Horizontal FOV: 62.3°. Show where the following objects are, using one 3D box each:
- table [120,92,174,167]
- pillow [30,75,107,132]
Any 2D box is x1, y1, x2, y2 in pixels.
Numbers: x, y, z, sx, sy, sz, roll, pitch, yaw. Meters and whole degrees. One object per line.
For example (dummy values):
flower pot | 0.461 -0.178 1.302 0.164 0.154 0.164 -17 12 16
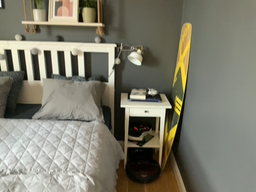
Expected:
table | 0.170 0.340 2.200 0.480 0.680 0.320 2 19 0
pillow | -0.490 0.050 1.940 0.570 0.360 0.460 1 19 -3
